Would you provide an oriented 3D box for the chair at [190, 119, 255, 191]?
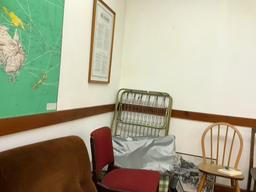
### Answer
[{"bbox_3d":[0.890,0.700,2.110,0.440,0.820,0.530,7,3,17],"label":"chair"}]

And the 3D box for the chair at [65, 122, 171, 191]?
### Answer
[{"bbox_3d":[-0.070,0.660,1.680,0.660,0.750,0.480,7,3,20],"label":"chair"}]

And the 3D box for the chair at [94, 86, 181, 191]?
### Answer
[{"bbox_3d":[0.140,0.480,2.290,0.670,1.100,0.710,7,3,18],"label":"chair"}]
